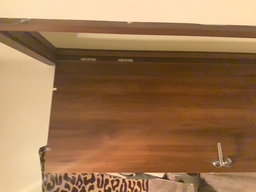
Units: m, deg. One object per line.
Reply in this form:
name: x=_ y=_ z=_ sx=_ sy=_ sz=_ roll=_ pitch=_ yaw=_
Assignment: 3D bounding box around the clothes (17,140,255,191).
clothes: x=0.320 y=0.610 z=1.400 sx=0.280 sy=1.930 sz=0.560 roll=-178 pitch=89 yaw=-87
